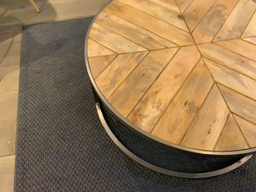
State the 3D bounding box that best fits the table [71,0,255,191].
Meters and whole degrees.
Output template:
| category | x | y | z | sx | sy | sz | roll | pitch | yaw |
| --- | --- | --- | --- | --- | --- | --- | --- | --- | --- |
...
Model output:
| category | x | y | z | sx | sy | sz | roll | pitch | yaw |
| --- | --- | --- | --- | --- | --- | --- | --- | --- | --- |
| table | 0.740 | -0.290 | 1.100 | 1.910 | 0.350 | 1.060 | -12 | 59 | -9 |
